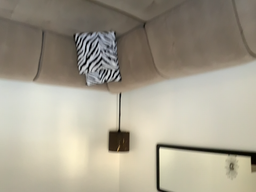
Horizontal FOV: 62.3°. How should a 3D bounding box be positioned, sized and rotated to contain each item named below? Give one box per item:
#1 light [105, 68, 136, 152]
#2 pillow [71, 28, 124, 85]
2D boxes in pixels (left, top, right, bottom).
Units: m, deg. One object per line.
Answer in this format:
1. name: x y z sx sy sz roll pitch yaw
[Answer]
1. light: -0.090 0.170 2.490 0.200 0.910 0.330 6 170 -34
2. pillow: -0.290 -0.380 2.040 0.420 0.420 0.210 -12 157 -3
